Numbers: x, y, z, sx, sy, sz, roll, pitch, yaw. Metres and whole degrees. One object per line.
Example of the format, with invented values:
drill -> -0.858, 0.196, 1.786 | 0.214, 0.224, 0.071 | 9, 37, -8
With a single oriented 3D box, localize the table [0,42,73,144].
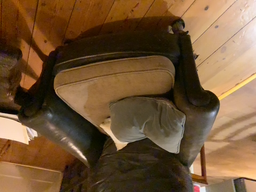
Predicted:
table -> -0.670, 0.000, 1.410 | 0.470, 0.440, 0.420 | 13, 144, -14

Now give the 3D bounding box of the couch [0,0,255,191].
couch -> 0.050, 0.210, 1.290 | 0.780, 0.870, 1.080 | -3, 145, 9
